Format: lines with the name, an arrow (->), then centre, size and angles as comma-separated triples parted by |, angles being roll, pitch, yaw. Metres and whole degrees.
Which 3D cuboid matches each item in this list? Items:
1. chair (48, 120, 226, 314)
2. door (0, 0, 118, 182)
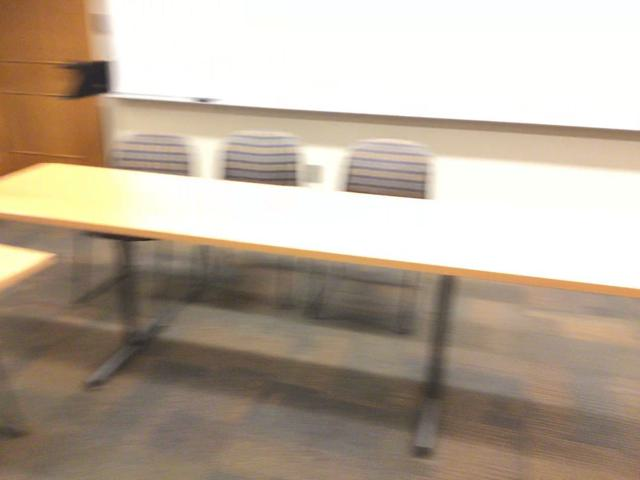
chair -> -0.830, -0.140, 2.770 | 0.530, 0.730, 0.550 | 8, 23, 16
door -> -2.180, -1.190, 4.270 | 1.230, 1.360, 0.280 | 8, 23, 16
